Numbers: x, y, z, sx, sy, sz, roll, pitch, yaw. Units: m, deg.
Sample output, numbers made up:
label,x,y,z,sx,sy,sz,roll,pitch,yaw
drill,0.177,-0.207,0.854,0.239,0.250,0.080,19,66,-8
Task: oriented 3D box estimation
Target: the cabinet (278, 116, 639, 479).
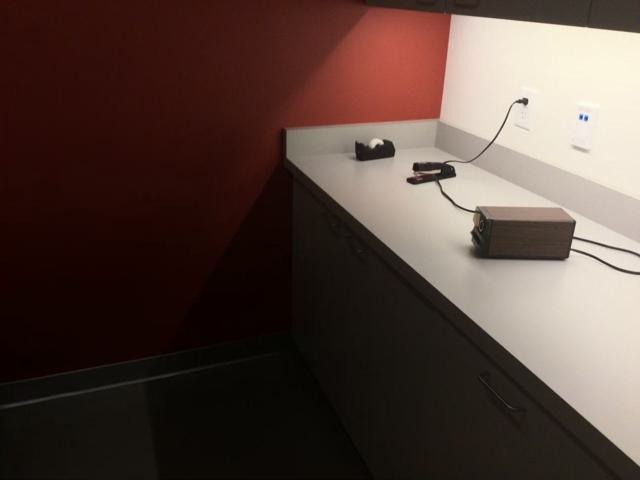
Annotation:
label,x,y,z,sx,sy,sz,roll,pitch,yaw
cabinet,0.490,0.380,1.390,0.630,0.970,2.000,-6,24,-19
